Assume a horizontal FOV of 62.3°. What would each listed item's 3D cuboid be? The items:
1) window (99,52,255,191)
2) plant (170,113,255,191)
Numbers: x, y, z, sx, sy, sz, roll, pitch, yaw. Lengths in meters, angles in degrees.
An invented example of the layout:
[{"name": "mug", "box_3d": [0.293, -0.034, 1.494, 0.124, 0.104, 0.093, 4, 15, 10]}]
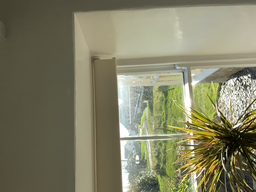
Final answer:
[{"name": "window", "box_3d": [0.390, 0.240, 1.400, 0.200, 1.120, 1.000, 87, 180, -81]}, {"name": "plant", "box_3d": [0.590, 0.270, 1.030, 0.230, 0.710, 0.370, 87, 180, -84]}]
